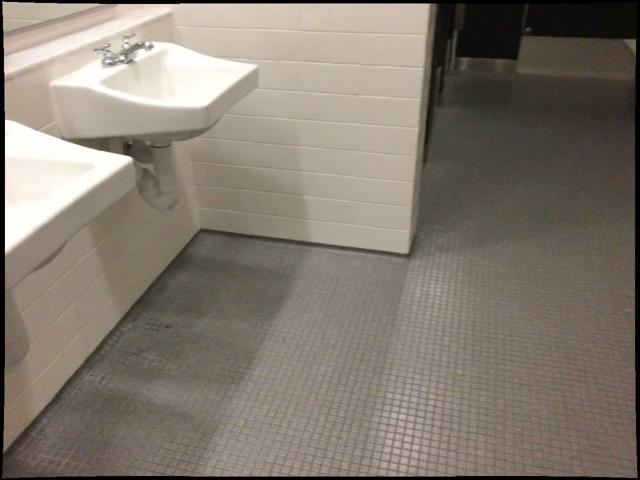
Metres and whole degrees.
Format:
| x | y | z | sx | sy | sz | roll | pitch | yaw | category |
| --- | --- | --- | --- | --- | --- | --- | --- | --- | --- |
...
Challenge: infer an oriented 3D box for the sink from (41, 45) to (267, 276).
| x | y | z | sx | sy | sz | roll | pitch | yaw | category |
| --- | --- | --- | --- | --- | --- | --- | --- | --- | --- |
| -0.479 | -0.281 | 1.870 | 0.439 | 0.551 | 0.500 | 7 | 33 | 13 | sink |
